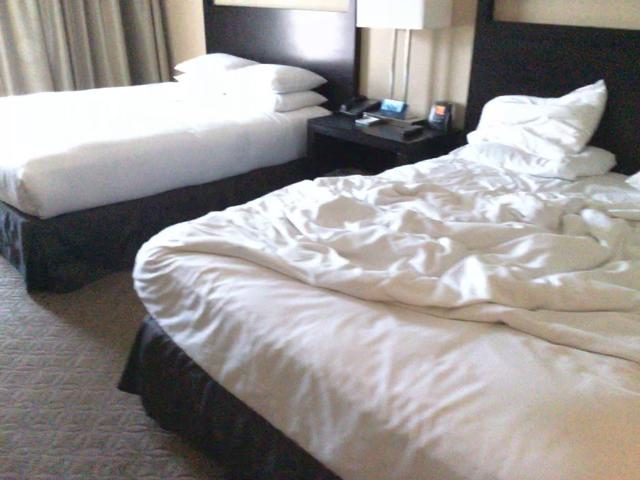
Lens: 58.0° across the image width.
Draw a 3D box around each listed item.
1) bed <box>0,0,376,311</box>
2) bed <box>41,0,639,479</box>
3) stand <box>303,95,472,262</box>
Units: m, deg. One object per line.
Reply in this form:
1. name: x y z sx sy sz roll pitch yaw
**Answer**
1. bed: -1.040 -0.930 3.550 2.130 1.560 1.710 -20 32 -41
2. bed: 0.610 -0.140 1.890 2.130 1.500 1.730 -20 32 -41
3. stand: 0.360 -0.400 3.390 0.520 0.730 0.780 -20 32 -41
